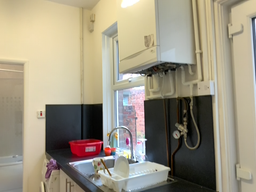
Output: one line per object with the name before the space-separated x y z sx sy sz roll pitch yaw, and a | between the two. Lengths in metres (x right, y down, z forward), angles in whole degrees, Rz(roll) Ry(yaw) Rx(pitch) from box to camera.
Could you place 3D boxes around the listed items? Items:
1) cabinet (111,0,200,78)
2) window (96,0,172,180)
cabinet | 0.160 -0.620 1.500 0.370 0.910 0.510 1 -4 -32
window | -0.010 -0.100 2.370 0.310 1.690 1.040 1 -4 -31
